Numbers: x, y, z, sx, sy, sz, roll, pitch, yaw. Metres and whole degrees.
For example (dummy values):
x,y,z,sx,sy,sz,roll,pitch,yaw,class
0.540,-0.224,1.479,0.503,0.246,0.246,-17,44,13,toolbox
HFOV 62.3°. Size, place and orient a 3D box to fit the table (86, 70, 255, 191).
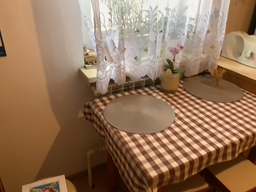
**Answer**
x,y,z,sx,sy,sz,roll,pitch,yaw,class
0.330,0.380,1.410,0.980,0.770,0.710,-13,32,-25,table
